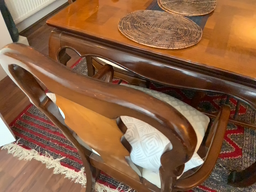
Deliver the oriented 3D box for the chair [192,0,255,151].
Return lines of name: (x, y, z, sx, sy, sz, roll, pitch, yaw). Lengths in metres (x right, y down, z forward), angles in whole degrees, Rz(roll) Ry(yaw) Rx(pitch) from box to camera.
chair: (0.830, -0.200, 1.210, 0.580, 1.010, 0.520, 19, 49, 15)
